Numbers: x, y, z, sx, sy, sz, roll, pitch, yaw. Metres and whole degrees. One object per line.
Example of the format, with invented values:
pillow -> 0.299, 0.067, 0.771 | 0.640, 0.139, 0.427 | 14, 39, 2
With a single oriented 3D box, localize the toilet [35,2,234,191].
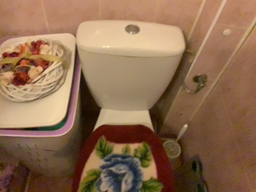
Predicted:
toilet -> -0.020, 0.210, 0.860 | 0.380, 0.780, 0.740 | 4, 54, -5
